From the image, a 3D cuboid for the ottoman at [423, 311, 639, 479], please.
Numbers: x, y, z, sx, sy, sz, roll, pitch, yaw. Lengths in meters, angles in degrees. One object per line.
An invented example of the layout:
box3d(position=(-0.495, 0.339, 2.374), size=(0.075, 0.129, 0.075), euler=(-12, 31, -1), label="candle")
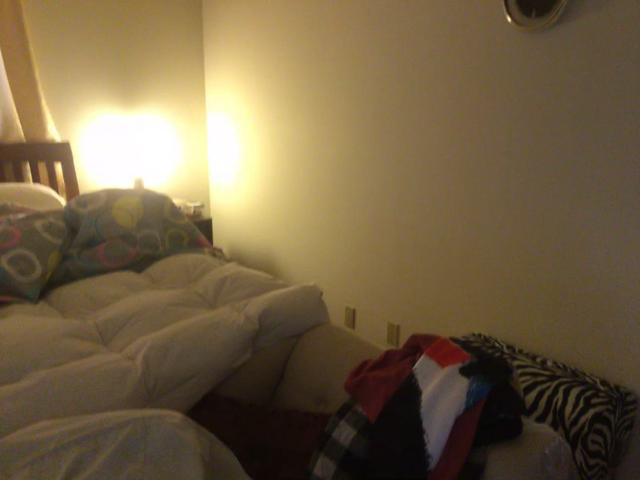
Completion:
box3d(position=(0.720, 0.570, 2.040), size=(0.300, 0.410, 0.650), euler=(-12, 18, -38), label="ottoman")
